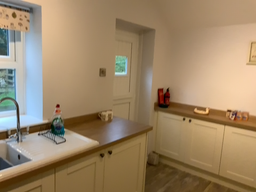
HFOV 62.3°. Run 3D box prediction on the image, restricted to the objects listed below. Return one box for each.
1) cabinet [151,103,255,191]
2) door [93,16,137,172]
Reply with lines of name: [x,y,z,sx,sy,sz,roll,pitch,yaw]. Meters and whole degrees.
cabinet: [1.490,0.760,2.730,2.560,0.920,0.340,10,11,39]
door: [-0.170,-0.010,3.080,0.030,2.060,0.790,10,11,39]
